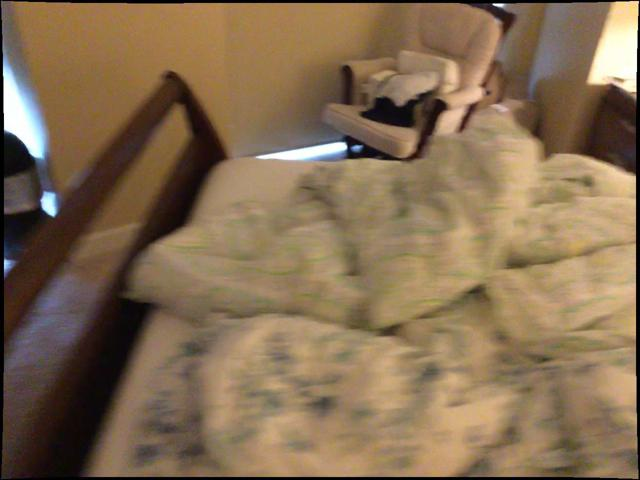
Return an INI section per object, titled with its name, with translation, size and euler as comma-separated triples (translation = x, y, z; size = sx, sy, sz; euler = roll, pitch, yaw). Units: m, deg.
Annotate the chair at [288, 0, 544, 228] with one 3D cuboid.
[chair]
translation = 0.459, -0.802, 3.050
size = 0.939, 0.962, 0.809
euler = -27, 45, -36
